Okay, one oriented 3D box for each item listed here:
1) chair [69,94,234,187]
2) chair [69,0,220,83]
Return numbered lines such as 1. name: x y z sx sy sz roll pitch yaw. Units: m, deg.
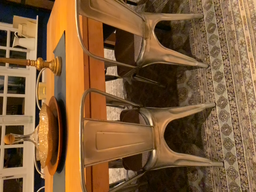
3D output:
1. chair: 0.110 0.220 1.180 0.490 0.740 0.340 -21 70 58
2. chair: 0.080 -0.330 1.280 0.490 0.740 0.340 -21 70 58
